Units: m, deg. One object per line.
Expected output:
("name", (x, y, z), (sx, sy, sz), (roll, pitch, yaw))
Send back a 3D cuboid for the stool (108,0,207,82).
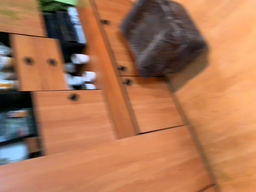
("stool", (0.180, -0.380, 1.440), (0.370, 0.380, 0.430), (-46, 59, 41))
